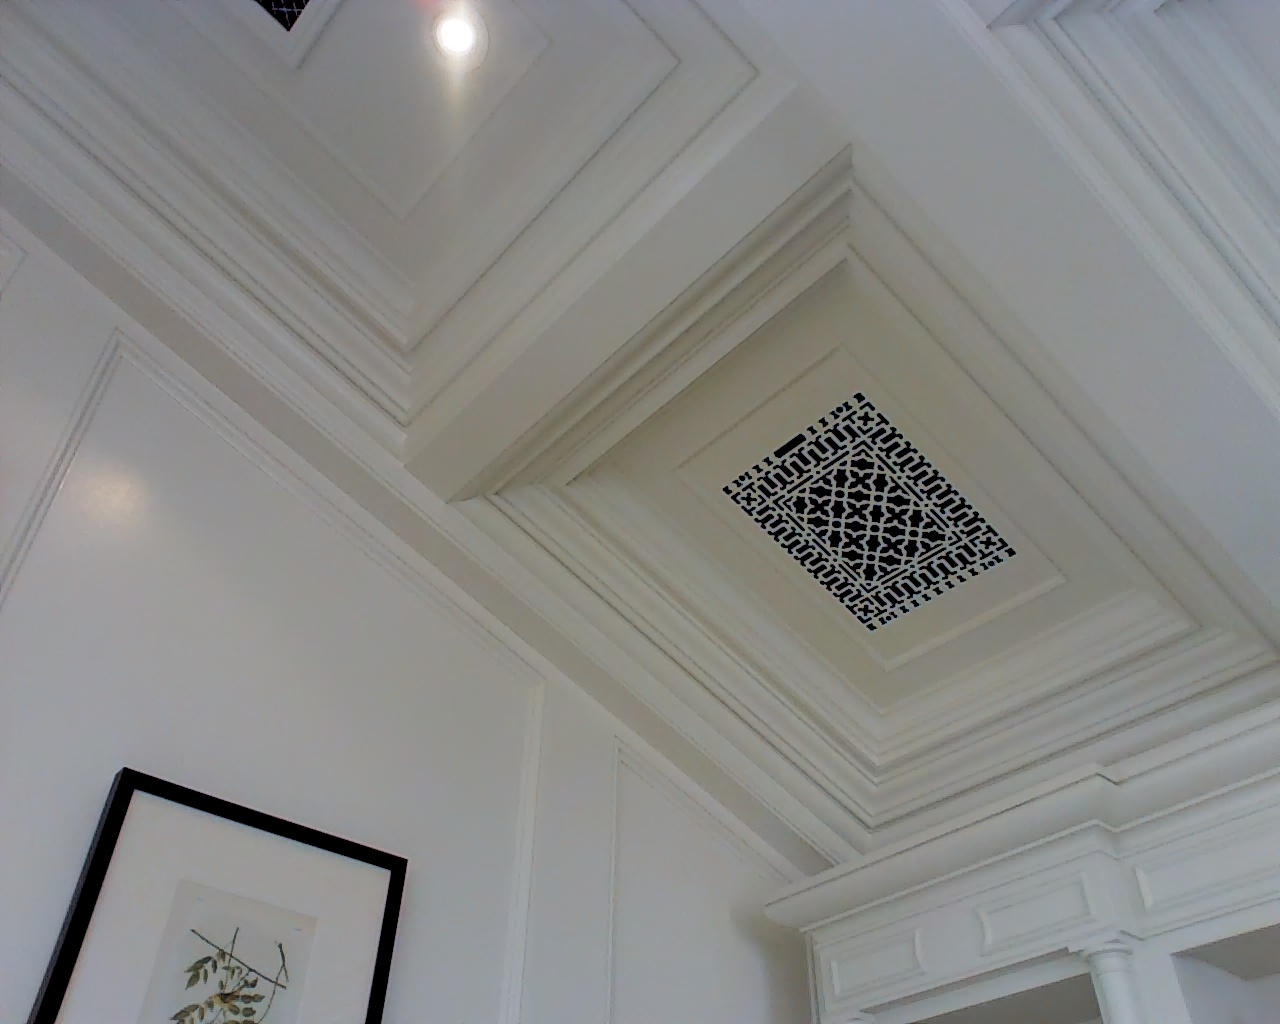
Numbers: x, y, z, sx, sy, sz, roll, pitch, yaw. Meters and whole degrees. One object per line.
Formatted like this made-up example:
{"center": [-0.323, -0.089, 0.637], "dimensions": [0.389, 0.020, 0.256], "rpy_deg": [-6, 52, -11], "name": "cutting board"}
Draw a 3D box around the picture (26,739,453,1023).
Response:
{"center": [-0.500, 0.650, 1.370], "dimensions": [0.500, 0.600, 0.050], "rpy_deg": [30, -49, -29], "name": "picture"}
